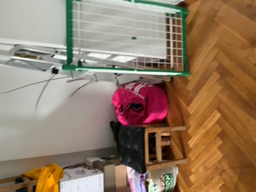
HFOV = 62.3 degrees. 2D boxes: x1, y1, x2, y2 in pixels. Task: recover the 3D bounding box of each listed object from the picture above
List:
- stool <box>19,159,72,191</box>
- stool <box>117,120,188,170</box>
[{"bbox_3d":[-0.690,0.780,1.740,0.440,0.340,0.390,-8,83,59],"label":"stool"},{"bbox_3d":[0.200,0.380,1.780,0.330,0.490,0.310,-4,87,59],"label":"stool"}]
